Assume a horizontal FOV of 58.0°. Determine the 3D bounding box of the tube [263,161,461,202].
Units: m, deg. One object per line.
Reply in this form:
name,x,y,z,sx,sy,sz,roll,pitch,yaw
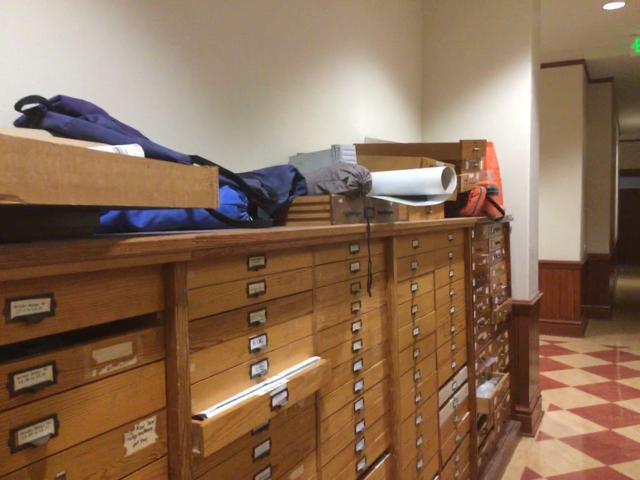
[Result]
tube,0.110,-0.210,2.180,0.160,0.100,0.890,-7,6,-40
